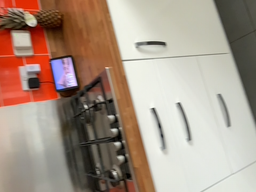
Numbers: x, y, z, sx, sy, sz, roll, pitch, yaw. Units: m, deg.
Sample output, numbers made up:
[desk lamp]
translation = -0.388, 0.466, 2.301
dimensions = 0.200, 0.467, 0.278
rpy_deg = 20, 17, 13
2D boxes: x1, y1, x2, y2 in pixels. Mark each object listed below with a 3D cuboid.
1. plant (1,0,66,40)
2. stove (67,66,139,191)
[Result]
[plant]
translation = -0.560, -0.460, 1.260
dimensions = 0.120, 0.310, 0.210
rpy_deg = -25, 76, 58
[stove]
translation = -0.160, 0.220, 1.050
dimensions = 0.560, 0.040, 0.570
rpy_deg = -25, 76, 58
